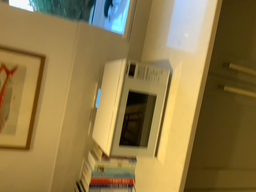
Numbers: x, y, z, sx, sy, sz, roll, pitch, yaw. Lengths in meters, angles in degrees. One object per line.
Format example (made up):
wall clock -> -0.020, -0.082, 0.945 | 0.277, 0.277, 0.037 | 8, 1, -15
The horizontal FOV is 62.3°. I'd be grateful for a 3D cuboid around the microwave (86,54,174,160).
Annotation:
microwave -> -0.020, 0.040, 1.130 | 0.410, 0.250, 0.450 | -161, 82, -66
